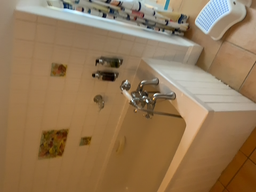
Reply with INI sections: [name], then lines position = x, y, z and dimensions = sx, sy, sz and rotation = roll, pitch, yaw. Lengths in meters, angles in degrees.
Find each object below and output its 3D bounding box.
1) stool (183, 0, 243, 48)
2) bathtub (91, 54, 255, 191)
[stool]
position = 0.620, -0.580, 1.600
dimensions = 0.350, 0.130, 0.250
rotation = -44, 53, 48
[bathtub]
position = 0.220, 0.590, 1.800
dimensions = 0.710, 0.550, 1.660
rotation = 51, 130, 46
